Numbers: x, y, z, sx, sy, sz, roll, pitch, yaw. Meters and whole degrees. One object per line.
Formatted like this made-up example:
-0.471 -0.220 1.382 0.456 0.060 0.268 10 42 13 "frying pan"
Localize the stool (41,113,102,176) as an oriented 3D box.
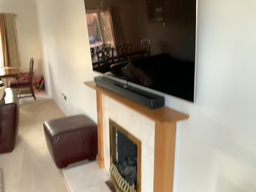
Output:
-0.680 0.530 2.530 0.540 0.440 0.570 -8 16 -29 "stool"
